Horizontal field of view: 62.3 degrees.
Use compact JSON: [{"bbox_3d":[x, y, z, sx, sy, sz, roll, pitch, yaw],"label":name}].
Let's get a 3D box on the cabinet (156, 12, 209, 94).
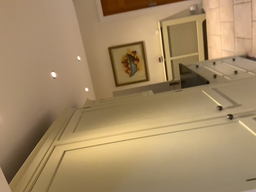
[{"bbox_3d":[1.140,-0.860,4.380,0.200,0.910,1.500,-95,-5,-71],"label":"cabinet"}]
